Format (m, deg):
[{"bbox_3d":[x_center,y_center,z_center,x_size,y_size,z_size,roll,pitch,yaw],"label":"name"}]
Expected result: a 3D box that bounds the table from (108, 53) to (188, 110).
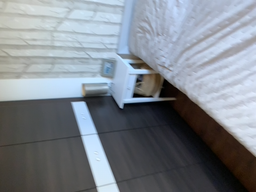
[{"bbox_3d":[0.200,-0.170,2.360,0.330,0.720,0.500,54,139,49],"label":"table"}]
